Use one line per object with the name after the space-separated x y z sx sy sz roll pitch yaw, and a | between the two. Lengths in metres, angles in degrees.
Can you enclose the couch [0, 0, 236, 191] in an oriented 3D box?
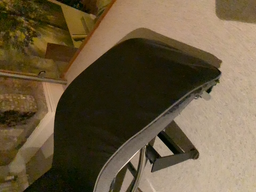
-0.290 0.370 1.020 0.600 0.670 1.470 42 114 39 | couch
